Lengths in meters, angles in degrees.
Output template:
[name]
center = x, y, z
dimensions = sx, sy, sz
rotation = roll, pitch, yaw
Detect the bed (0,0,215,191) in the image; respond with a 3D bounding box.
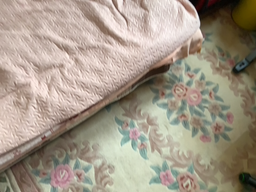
[bed]
center = -0.740, -0.290, 1.250
dimensions = 2.040, 0.430, 1.330
rotation = -33, 72, -18
